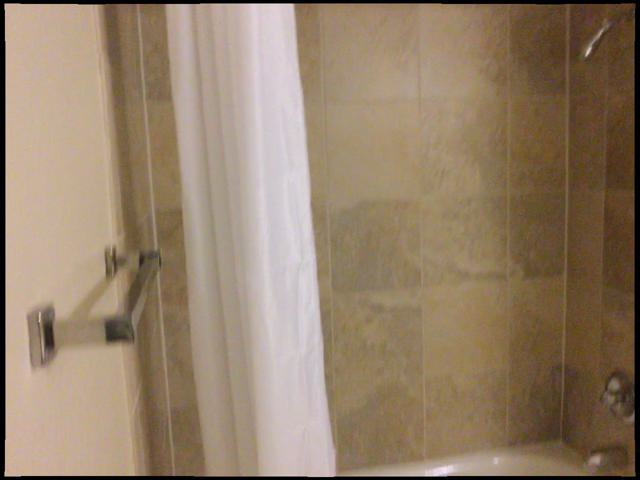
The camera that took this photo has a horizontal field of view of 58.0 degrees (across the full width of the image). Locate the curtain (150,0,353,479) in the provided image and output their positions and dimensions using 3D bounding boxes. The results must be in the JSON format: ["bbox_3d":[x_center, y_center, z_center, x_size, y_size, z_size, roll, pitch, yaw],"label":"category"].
[{"bbox_3d":[-0.130,0.120,1.200,0.309,1.743,0.280,-5,10,-11],"label":"curtain"}]
